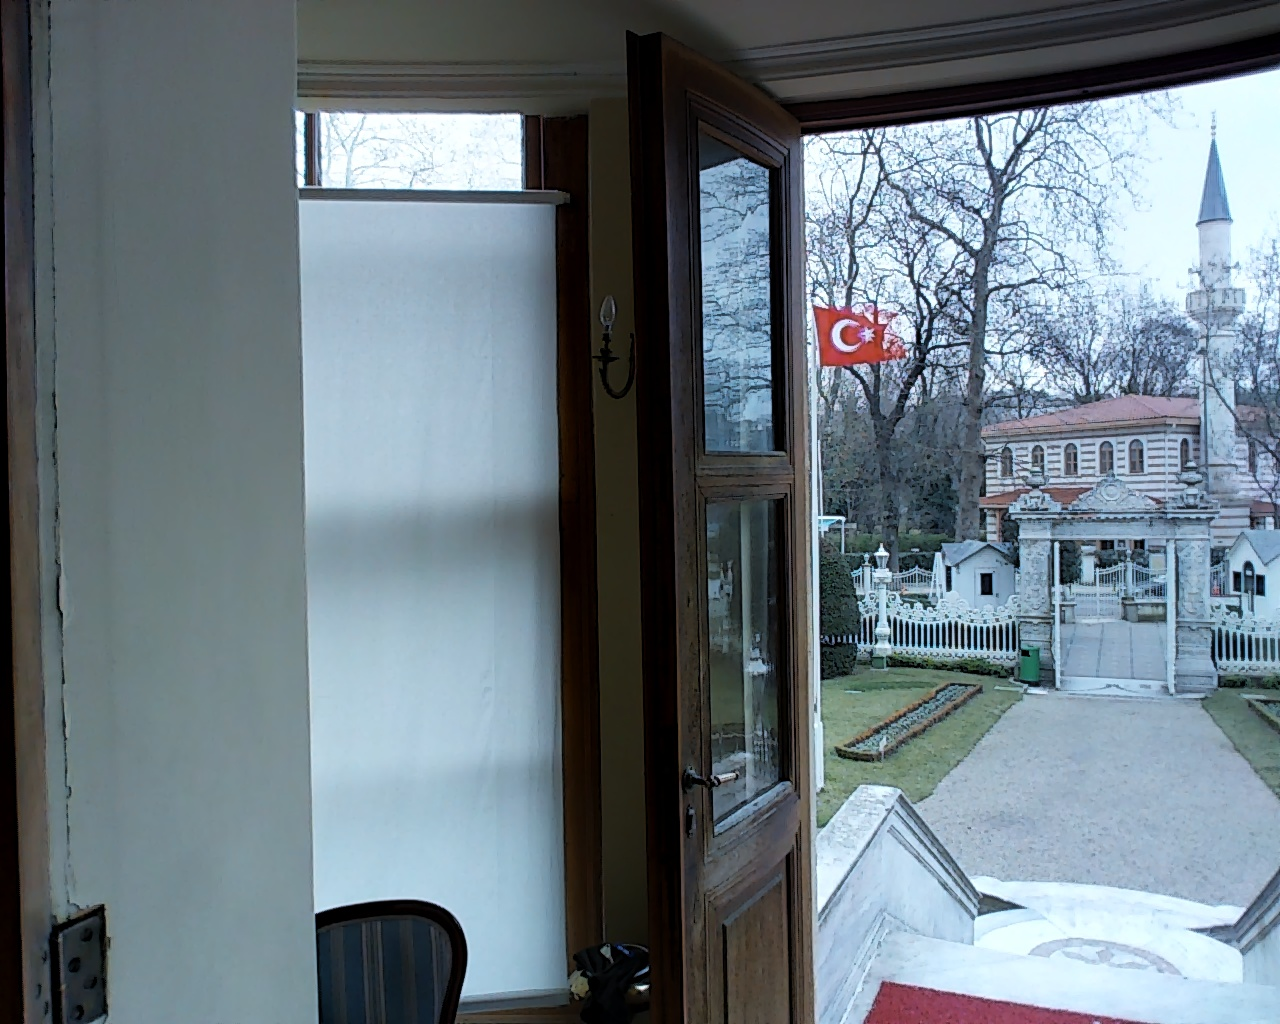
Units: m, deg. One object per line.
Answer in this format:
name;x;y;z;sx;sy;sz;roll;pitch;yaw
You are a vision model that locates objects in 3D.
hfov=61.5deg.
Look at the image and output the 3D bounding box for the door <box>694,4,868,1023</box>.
door;0.380;0.430;2.650;0.140;2.991;0.800;-1;1;26
